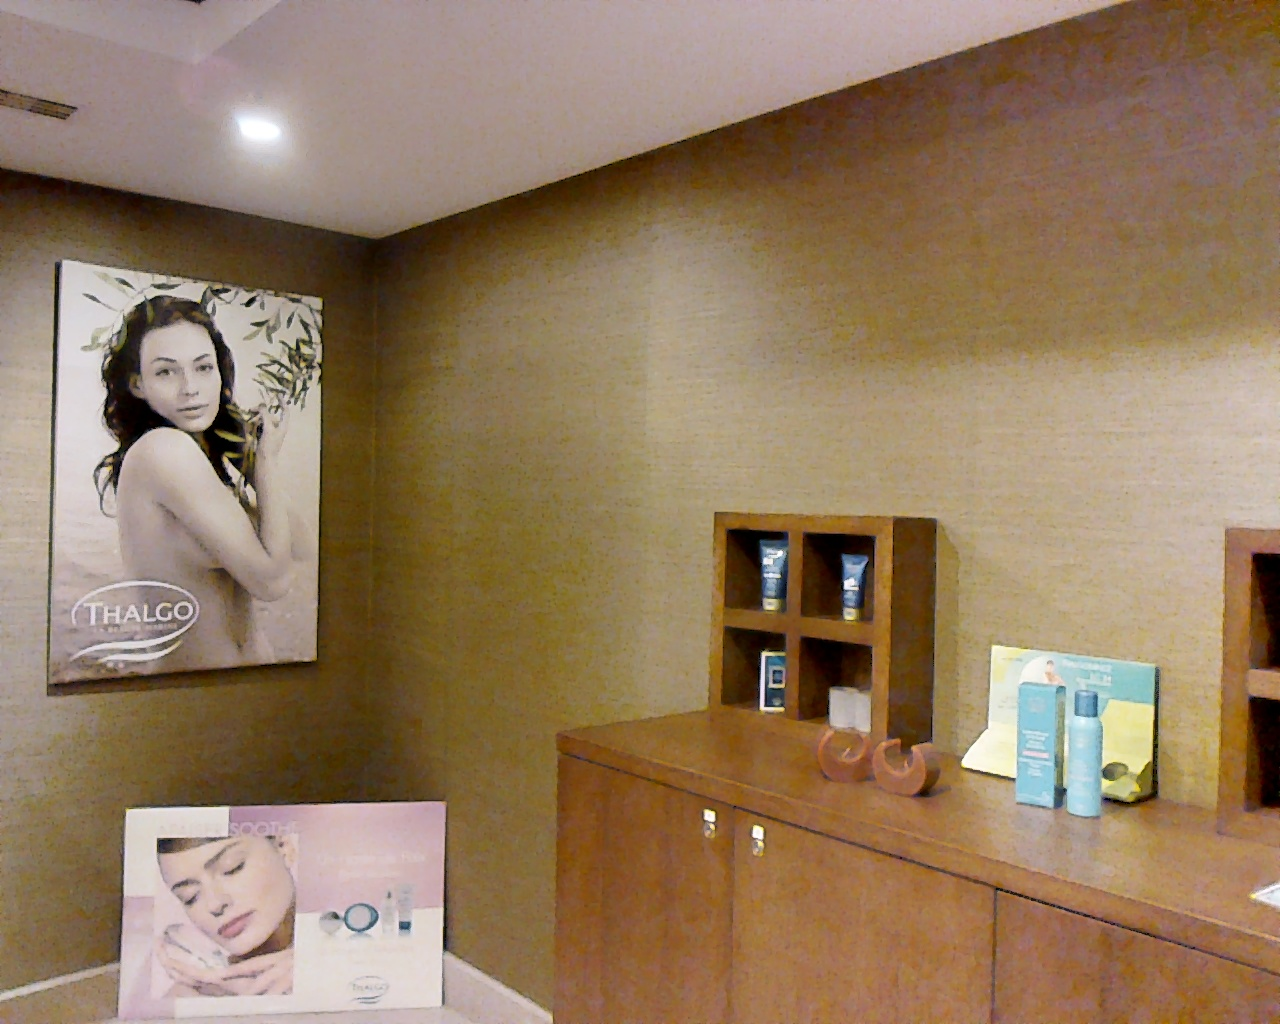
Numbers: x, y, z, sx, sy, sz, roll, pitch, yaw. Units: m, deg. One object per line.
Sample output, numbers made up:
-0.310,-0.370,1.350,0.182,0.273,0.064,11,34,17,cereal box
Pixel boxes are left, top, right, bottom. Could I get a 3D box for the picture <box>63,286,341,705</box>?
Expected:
-1.320,-0.040,3.320,0.790,1.180,0.070,1,0,-41,picture
